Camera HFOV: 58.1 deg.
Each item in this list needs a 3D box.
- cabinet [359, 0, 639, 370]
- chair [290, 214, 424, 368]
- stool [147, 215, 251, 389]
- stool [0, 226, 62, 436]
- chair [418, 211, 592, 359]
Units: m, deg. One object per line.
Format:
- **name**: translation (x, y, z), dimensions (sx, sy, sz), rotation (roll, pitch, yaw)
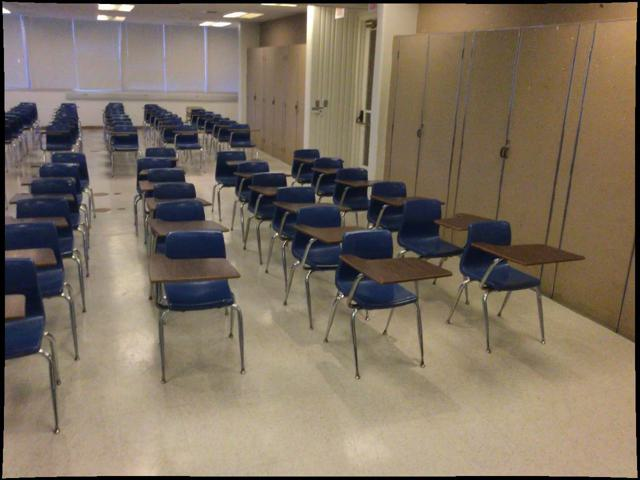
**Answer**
- **cabinet**: translation (1.696, -0.912, 5.130), dimensions (0.718, 2.456, 4.399), rotation (-4, 18, -22)
- **chair**: translation (0.199, 0.281, 3.750), dimensions (0.509, 0.692, 0.850), rotation (-5, 18, -22)
- **stool**: translation (-0.778, 0.341, 3.630), dimensions (0.509, 0.812, 0.790), rotation (-4, 18, -20)
- **stool**: translation (-1.666, 0.431, 3.040), dimensions (0.489, 0.762, 0.940), rotation (-5, 18, -22)
- **chair**: translation (1.207, 0.251, 3.960), dimensions (0.569, 0.662, 0.990), rotation (-5, 18, -22)
